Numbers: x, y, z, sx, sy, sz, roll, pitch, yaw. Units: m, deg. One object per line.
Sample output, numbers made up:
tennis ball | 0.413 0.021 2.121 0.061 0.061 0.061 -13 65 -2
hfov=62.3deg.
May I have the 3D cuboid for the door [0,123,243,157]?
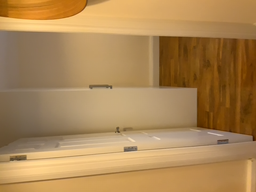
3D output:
door | -0.070 0.360 1.950 0.820 1.910 0.030 175 94 -77
